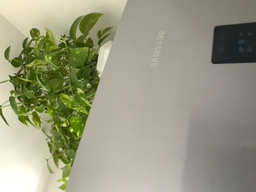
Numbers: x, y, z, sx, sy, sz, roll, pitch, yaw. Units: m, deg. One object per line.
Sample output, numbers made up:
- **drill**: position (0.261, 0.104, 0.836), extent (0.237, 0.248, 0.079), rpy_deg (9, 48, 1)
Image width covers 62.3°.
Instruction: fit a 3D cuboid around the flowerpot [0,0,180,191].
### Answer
- **flowerpot**: position (-0.210, 0.010, 0.870), extent (0.710, 0.640, 0.550), rpy_deg (49, -131, -55)
